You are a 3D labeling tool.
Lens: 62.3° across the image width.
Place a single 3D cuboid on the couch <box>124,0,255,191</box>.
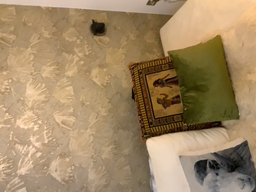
[{"bbox_3d":[0.650,0.250,1.480,1.050,0.740,2.050,149,114,-65],"label":"couch"}]
